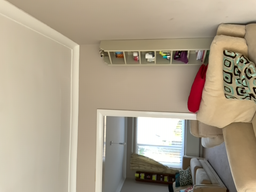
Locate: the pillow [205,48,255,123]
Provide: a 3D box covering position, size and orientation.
[{"bbox_3d":[0.910,-0.060,1.620,0.140,0.400,0.470,-53,-9,-37],"label":"pillow"}]
